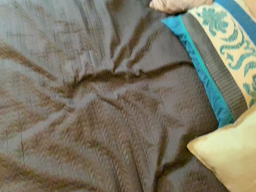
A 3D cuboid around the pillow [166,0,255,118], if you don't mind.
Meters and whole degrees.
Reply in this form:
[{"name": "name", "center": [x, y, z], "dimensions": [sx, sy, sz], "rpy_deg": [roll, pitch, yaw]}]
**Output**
[{"name": "pillow", "center": [0.370, -0.190, 0.870], "dimensions": [0.160, 0.380, 0.520], "rpy_deg": [-5, 93, -42]}]
